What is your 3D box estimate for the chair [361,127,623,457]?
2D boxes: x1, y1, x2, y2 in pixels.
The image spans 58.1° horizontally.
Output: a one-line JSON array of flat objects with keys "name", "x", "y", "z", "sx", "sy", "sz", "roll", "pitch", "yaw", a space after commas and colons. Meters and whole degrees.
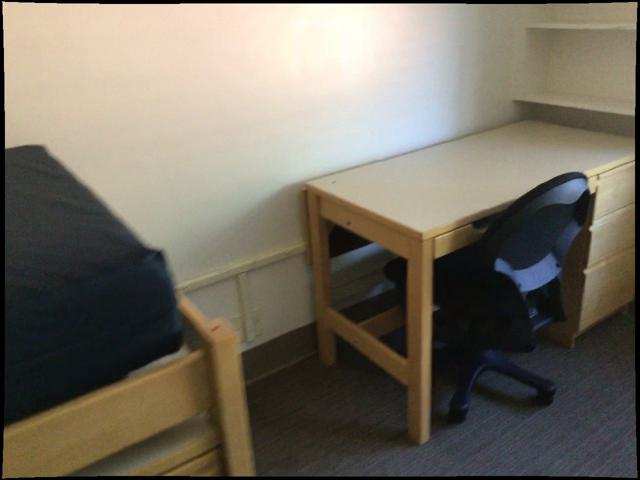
[{"name": "chair", "x": 0.559, "y": 0.130, "z": 2.010, "sx": 0.529, "sy": 0.862, "sz": 0.600, "roll": -19, "pitch": 27, "yaw": -27}]

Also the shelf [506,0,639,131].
[{"name": "shelf", "x": 1.237, "y": -0.862, "z": 2.100, "sx": 0.290, "sy": 0.862, "sz": 1.099, "roll": -19, "pitch": 28, "yaw": -28}]
